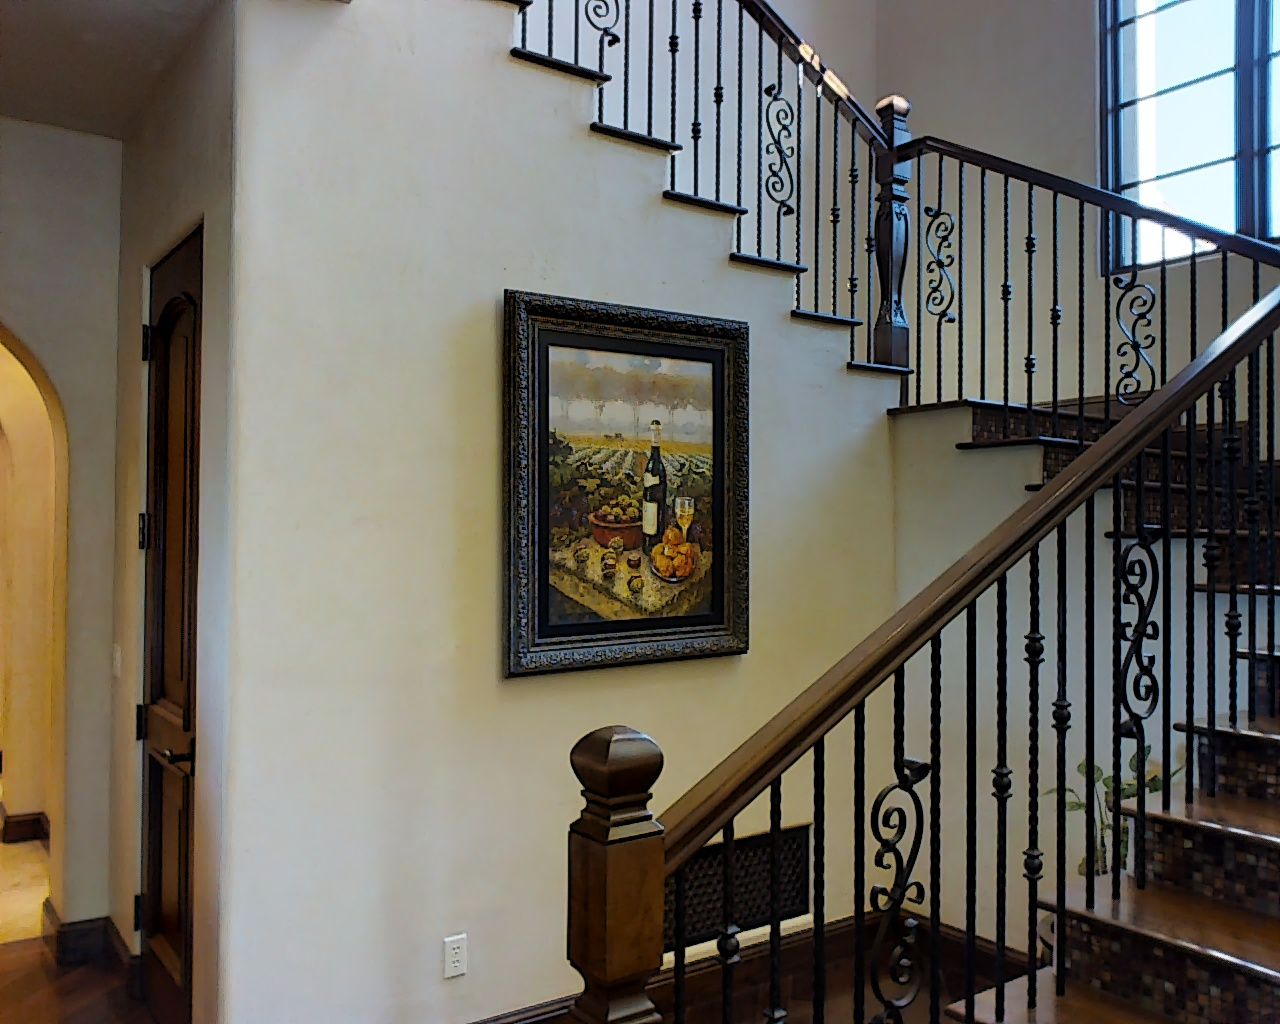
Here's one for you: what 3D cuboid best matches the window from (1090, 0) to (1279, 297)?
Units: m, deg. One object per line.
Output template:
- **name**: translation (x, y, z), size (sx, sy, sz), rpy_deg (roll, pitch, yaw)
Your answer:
- **window**: translation (2.500, -2.700, 4.380), size (0.190, 3.410, 1.290), rpy_deg (1, -1, -36)
